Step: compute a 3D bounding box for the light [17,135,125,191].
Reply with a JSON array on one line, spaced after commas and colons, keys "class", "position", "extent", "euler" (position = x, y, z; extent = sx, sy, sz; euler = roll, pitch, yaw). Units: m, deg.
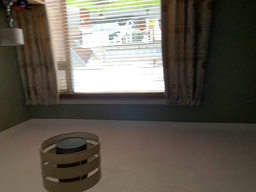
[{"class": "light", "position": [-0.320, 0.490, 1.320], "extent": [0.440, 0.390, 0.340], "euler": [45, 53, -55]}]
